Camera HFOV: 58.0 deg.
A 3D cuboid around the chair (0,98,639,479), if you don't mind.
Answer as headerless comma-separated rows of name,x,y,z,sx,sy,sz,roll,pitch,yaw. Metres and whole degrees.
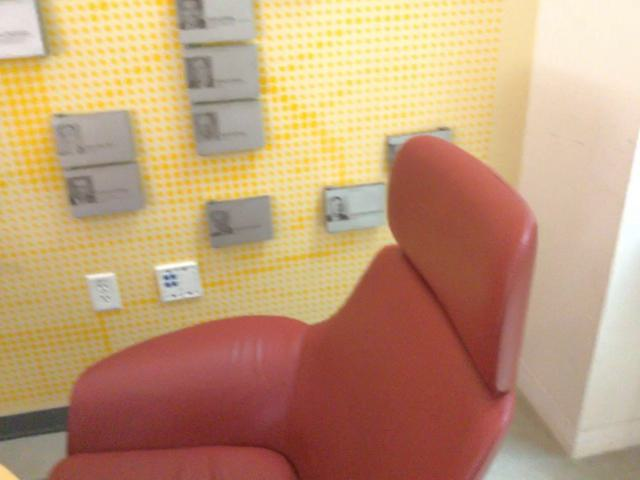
chair,-0.160,0.410,1.030,0.900,1.040,0.890,-10,27,-12
